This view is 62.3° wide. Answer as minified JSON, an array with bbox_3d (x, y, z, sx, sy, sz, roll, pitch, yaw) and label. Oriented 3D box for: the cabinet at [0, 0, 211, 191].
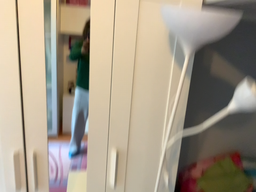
[{"bbox_3d":[-0.350,0.320,1.320,1.220,1.890,0.570,1,16,-12],"label":"cabinet"}]
